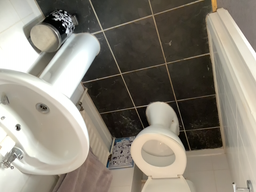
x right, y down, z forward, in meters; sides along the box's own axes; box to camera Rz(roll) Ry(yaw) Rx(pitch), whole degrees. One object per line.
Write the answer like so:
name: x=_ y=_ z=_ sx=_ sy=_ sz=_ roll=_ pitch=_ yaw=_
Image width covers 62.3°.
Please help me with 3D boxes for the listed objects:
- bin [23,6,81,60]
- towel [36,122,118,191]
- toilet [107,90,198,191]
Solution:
bin: x=-0.450 y=-0.390 z=1.300 sx=0.180 sy=0.250 sz=0.210 roll=-6 pitch=127 yaw=16
towel: x=-0.290 y=0.570 z=1.320 sx=0.190 sy=0.640 sz=0.480 roll=-9 pitch=126 yaw=18
toilet: x=0.240 y=0.500 z=1.510 sx=0.400 sy=0.820 sz=0.680 roll=-10 pitch=126 yaw=18
